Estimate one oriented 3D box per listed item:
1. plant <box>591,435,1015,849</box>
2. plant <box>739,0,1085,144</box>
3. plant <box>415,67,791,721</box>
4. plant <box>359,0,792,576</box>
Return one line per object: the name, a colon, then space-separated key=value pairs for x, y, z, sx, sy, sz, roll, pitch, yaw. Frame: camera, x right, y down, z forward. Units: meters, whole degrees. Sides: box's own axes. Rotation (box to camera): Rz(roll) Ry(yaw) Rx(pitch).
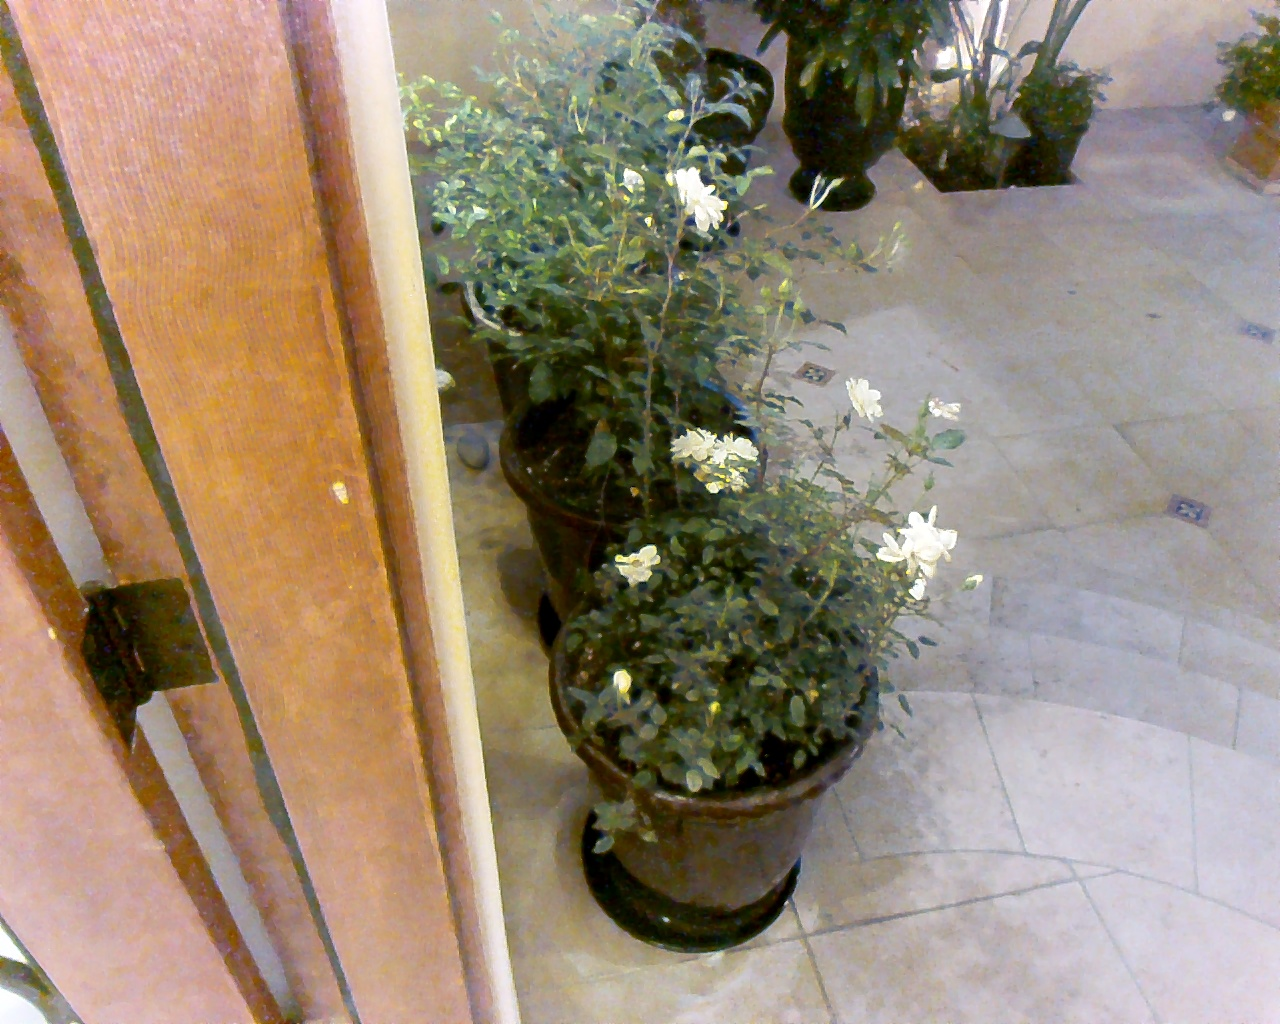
plant: x=0.170 y=0.150 z=1.390 sx=0.410 sy=0.270 sz=0.410 roll=-6 pitch=42 yaw=-8
plant: x=1.180 y=-2.241 z=4.480 sx=1.330 sy=0.930 sz=0.670 roll=-23 pitch=47 yaw=-26
plant: x=-0.090 y=-0.180 z=1.740 sx=0.420 sy=0.840 sz=0.570 roll=-7 pitch=42 yaw=-9
plant: x=-0.170 y=-0.540 z=2.050 sx=0.580 sy=1.010 sz=0.750 roll=-9 pitch=42 yaw=-11
